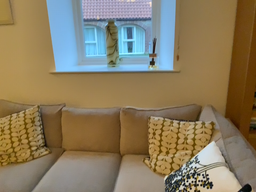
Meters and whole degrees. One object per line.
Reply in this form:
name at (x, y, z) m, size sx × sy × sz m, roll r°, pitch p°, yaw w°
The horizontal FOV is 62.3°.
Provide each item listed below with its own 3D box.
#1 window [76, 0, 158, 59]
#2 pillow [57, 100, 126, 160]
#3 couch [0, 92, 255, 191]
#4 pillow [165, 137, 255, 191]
window at (-0.110, -0.970, 2.180) m, size 0.830 × 1.160 × 0.130 m, roll 1°, pitch 18°, yaw 6°
pillow at (-0.300, 0.280, 1.780) m, size 0.480 × 0.330 × 0.170 m, roll 18°, pitch 18°, yaw 0°
couch at (-0.220, 0.510, 1.630) m, size 2.190 × 0.810 × 1.000 m, roll 1°, pitch 18°, yaw 5°
pillow at (0.430, 0.460, 1.170) m, size 0.270 × 0.240 × 0.460 m, roll -5°, pitch 18°, yaw -13°
